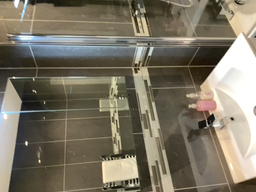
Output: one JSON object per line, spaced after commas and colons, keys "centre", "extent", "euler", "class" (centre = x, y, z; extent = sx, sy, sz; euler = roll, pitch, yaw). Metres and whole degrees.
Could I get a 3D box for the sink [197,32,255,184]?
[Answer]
{"centre": [0.610, 0.070, 1.080], "extent": [0.460, 0.150, 0.620], "euler": [105, 160, -57], "class": "sink"}
